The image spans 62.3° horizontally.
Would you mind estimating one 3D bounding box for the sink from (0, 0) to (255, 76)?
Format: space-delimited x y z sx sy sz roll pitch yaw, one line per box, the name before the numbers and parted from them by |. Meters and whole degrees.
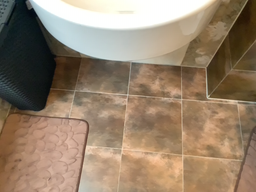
sink | 0.000 -0.330 0.600 0.570 0.170 0.480 5 67 2
